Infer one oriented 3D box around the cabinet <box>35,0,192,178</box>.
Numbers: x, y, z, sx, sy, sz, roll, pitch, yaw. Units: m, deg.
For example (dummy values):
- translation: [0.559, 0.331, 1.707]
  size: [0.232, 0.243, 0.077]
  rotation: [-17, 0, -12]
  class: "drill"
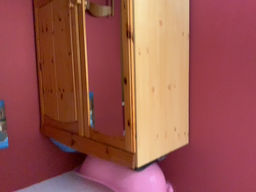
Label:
- translation: [-0.190, -0.630, 1.690]
  size: [0.610, 2.040, 1.200]
  rotation: [-7, -172, -44]
  class: "cabinet"
